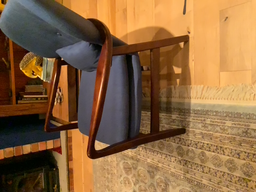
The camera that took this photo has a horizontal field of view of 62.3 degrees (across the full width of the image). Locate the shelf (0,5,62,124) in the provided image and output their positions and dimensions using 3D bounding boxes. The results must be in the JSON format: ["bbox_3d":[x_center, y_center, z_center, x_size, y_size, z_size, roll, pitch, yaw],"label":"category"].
[{"bbox_3d":[-1.910,-0.350,2.480,0.520,2.030,1.380,2,96,52],"label":"shelf"}]

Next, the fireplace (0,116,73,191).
[{"bbox_3d":[-1.450,1.220,2.620,0.800,1.280,1.710,2,96,52],"label":"fireplace"}]
